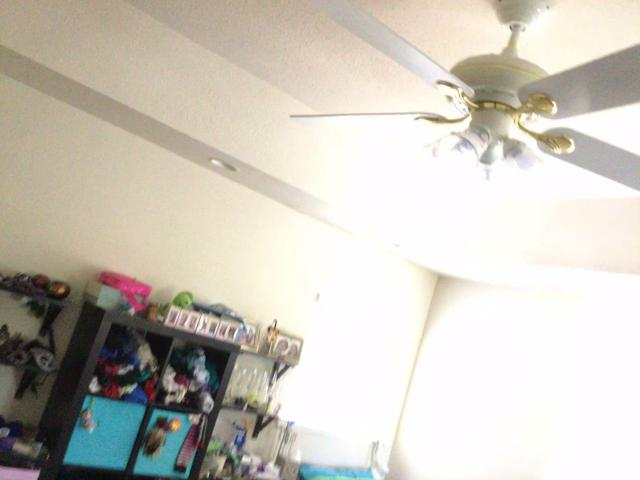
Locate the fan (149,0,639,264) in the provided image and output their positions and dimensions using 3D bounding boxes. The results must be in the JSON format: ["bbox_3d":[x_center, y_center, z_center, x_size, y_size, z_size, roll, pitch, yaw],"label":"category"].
[{"bbox_3d":[0.400,-0.350,1.630,1.250,0.420,1.290,25,-18,-33],"label":"fan"}]

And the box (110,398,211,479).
[{"bbox_3d":[-0.860,1.070,3.110,0.320,0.310,0.400,25,-18,-33],"label":"box"}]

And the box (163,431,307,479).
[{"bbox_3d":[-0.530,1.490,3.370,0.650,0.530,0.460,25,-18,-33],"label":"box"}]
